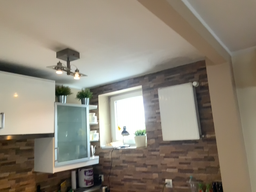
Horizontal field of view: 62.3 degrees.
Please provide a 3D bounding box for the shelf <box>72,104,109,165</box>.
[{"bbox_3d":[-0.530,0.530,2.980,0.350,0.770,0.350,-11,-12,36],"label":"shelf"}]
